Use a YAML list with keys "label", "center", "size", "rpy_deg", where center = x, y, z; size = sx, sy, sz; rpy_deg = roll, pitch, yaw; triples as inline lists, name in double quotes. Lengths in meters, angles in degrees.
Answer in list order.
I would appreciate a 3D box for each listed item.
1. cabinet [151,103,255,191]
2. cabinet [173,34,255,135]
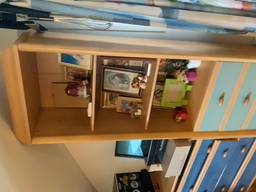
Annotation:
- label: "cabinet"
  center: [0.770, 0.510, 1.940]
  size: [0.410, 0.910, 0.800]
  rpy_deg: [-109, 23, -56]
- label: "cabinet"
  center: [0.880, -0.080, 1.590]
  size: [0.400, 0.860, 0.590]
  rpy_deg: [-109, 23, -56]
